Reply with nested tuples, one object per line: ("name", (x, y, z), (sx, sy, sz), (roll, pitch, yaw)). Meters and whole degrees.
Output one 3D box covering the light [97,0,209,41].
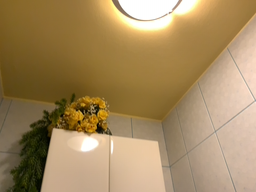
("light", (0.070, -0.340, 0.700), (0.340, 0.300, 0.090), (2, -123, 28))
